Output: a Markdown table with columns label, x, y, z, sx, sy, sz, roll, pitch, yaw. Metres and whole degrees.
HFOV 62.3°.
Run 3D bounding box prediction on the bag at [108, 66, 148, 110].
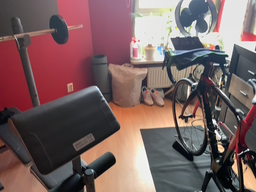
| label | x | y | z | sx | sy | sz | roll | pitch | yaw |
| --- | --- | --- | --- | --- | --- | --- | --- | --- | --- |
| bag | -0.010 | -0.120 | 2.790 | 0.480 | 0.440 | 0.380 | -3 | 27 | -4 |
